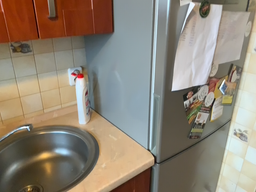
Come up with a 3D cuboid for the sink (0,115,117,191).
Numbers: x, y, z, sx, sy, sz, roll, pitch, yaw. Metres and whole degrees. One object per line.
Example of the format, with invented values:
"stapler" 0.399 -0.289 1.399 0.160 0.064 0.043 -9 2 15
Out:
"sink" -0.370 0.320 0.910 0.460 0.180 0.460 -17 30 -34
